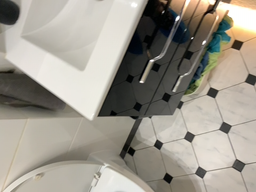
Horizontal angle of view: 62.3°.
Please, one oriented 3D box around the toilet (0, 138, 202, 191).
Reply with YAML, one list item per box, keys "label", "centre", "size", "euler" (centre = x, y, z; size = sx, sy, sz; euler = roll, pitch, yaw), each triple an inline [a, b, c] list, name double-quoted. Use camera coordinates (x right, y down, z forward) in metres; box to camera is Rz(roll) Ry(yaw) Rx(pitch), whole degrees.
- label: "toilet"
  centre: [-0.070, 0.530, 0.970]
  size: [0.520, 0.850, 0.370]
  euler: [29, 100, 28]
